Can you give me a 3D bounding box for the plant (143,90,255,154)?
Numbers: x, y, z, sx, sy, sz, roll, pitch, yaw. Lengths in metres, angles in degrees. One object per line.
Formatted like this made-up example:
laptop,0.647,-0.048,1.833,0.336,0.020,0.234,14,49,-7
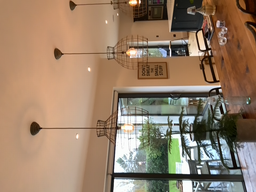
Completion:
plant,0.620,0.240,1.900,0.470,0.960,0.390,85,-174,-57
